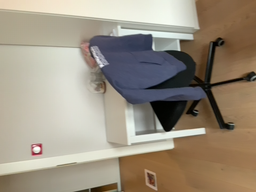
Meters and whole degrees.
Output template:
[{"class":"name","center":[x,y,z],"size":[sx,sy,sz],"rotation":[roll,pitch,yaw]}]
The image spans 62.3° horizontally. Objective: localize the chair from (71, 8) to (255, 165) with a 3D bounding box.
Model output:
[{"class":"chair","center":[0.200,-0.050,1.540],"size":[0.700,1.050,0.700],"rotation":[116,144,-47]}]
